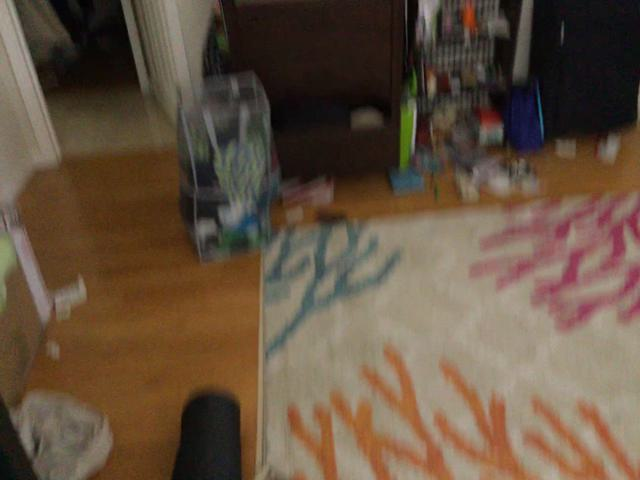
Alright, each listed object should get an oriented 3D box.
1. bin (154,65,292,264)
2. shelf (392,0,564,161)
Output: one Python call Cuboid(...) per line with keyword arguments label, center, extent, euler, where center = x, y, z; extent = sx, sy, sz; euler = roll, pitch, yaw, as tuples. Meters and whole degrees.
Cuboid(label="bin", center=(-0.370, -0.320, 2.440), extent=(0.410, 0.660, 0.450), euler=(-7, 33, 0))
Cuboid(label="shelf", center=(0.740, -0.990, 2.830), extent=(0.700, 1.040, 0.410), euler=(-7, 33, 0))
